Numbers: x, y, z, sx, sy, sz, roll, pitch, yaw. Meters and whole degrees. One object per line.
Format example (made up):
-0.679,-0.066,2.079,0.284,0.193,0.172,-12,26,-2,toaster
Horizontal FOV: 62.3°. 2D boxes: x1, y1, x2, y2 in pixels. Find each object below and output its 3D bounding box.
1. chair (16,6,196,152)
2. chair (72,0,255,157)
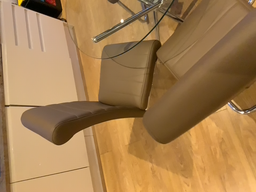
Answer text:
-0.050,-0.060,1.340,0.440,1.020,0.570,11,94,43,chair
0.390,-0.170,0.930,0.460,1.020,0.550,-47,57,30,chair
